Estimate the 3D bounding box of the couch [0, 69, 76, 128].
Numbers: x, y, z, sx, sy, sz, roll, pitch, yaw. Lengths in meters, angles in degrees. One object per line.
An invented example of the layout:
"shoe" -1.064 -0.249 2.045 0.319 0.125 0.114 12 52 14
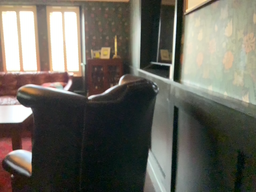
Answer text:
"couch" -2.100 -0.010 3.680 2.210 0.870 0.930 -1 11 -7
